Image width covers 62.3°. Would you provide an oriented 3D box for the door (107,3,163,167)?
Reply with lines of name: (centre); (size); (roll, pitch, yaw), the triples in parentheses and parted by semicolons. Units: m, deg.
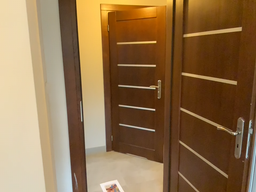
door: (0.080, -0.100, 2.920); (0.740, 2.120, 0.100); (7, 15, 29)
